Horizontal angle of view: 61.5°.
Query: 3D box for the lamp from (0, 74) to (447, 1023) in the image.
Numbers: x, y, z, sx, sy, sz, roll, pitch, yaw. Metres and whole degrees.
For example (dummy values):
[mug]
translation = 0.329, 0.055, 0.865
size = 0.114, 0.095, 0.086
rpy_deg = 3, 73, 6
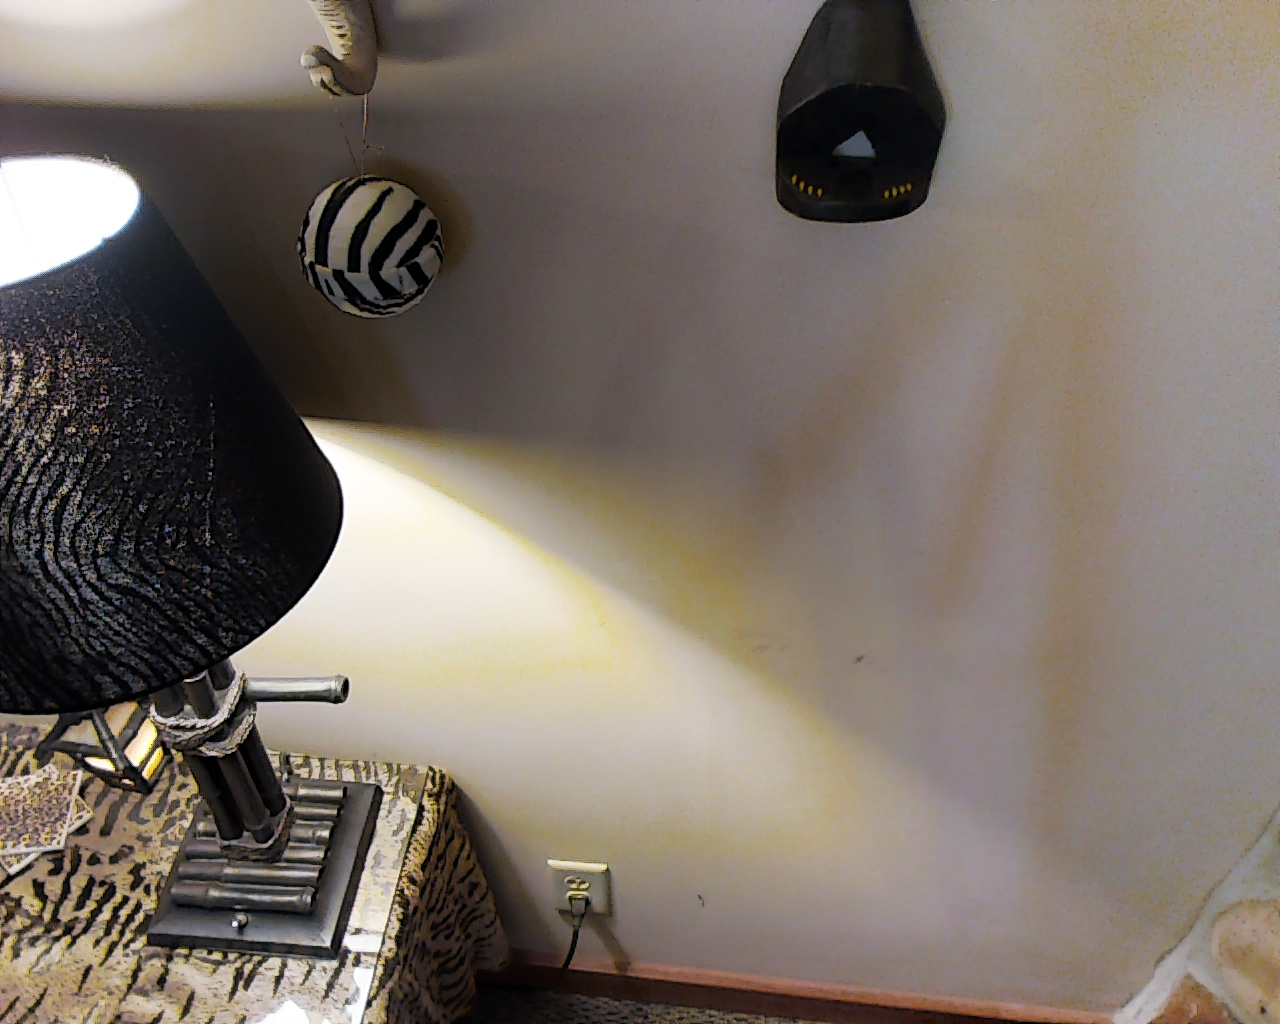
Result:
[lamp]
translation = -0.390, 0.090, 0.860
size = 0.320, 0.740, 0.330
rpy_deg = 5, 44, 4
